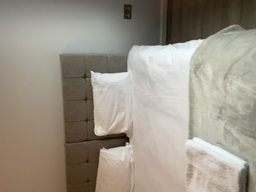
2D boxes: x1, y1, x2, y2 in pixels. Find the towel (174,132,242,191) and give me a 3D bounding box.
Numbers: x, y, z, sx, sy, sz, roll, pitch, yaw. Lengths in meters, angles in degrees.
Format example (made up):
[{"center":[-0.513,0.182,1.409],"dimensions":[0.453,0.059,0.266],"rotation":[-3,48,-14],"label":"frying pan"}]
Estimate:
[{"center":[0.370,0.430,1.060],"dimensions":[0.410,0.070,0.400],"rotation":[-167,76,-71],"label":"towel"}]
